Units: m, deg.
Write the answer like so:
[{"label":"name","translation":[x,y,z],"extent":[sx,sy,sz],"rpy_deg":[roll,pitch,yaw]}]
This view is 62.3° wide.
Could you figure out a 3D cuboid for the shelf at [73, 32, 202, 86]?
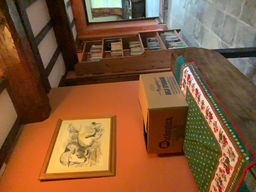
[{"label":"shelf","translation":[0.120,-0.670,3.600],"extent":[1.020,1.880,0.400],"rpy_deg":[-97,3,-56]}]

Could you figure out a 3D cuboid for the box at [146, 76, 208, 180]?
[{"label":"box","translation":[0.300,0.220,1.510],"extent":[0.450,0.280,0.550],"rpy_deg":[-97,3,-56]}]
